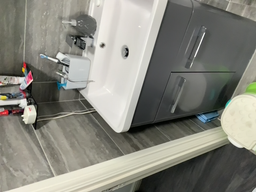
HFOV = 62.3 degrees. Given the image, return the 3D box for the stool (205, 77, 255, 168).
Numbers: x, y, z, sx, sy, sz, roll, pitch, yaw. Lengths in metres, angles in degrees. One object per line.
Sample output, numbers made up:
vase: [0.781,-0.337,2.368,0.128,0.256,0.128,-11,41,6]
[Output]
stool: [0.700,0.130,1.190,0.340,0.200,0.340,45,128,39]
